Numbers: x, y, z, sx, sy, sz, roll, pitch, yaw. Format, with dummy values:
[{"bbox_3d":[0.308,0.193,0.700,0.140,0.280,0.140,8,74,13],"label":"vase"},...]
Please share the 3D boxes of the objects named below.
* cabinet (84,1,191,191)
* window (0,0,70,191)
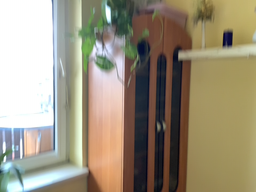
[{"bbox_3d":[0.090,0.200,1.720,0.760,1.580,0.430,-3,6,-45],"label":"cabinet"},{"bbox_3d":[-0.940,-0.110,1.350,1.150,1.570,0.180,-3,6,-45],"label":"window"}]
